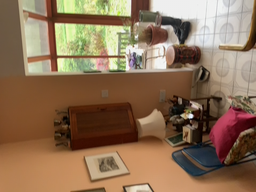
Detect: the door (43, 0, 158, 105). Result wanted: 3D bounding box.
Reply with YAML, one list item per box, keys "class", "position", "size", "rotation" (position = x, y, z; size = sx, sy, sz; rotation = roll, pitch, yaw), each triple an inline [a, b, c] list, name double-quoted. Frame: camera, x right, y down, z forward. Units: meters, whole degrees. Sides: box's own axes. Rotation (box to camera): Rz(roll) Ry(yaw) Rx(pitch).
- class: "door"
  position: [-0.460, -2.960, 3.960]
  size: [0.220, 2.270, 6.300]
  rotation: [-142, 51, -66]
